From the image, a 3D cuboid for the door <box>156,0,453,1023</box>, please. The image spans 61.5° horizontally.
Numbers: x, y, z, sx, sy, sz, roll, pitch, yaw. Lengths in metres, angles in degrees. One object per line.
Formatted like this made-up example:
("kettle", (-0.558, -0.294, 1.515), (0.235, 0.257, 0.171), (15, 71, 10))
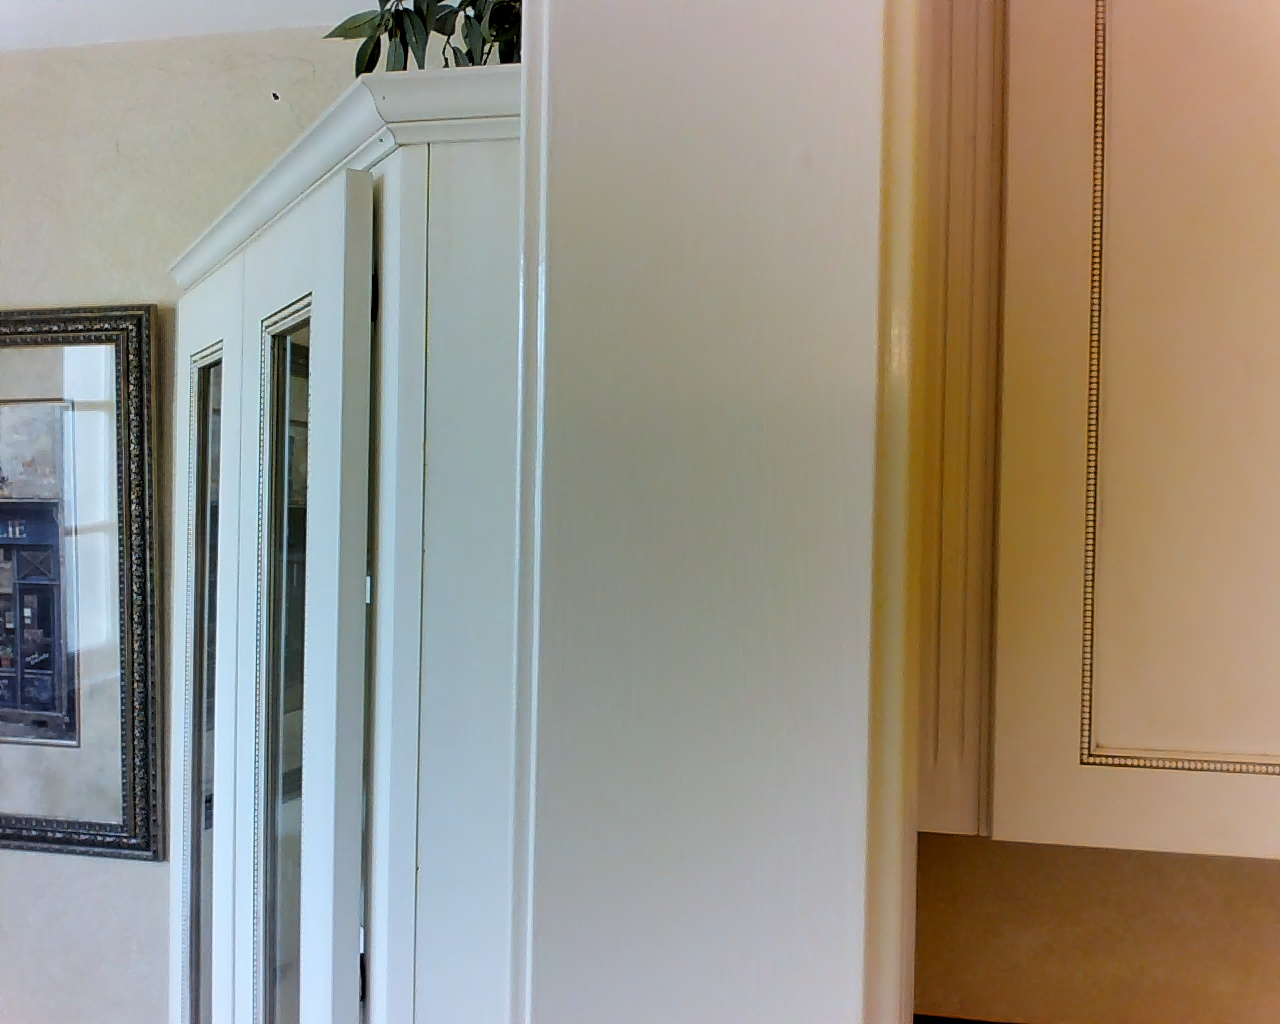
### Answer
("door", (-0.330, 0.600, 0.910), (0.060, 1.940, 0.730), (1, 0, -31))
